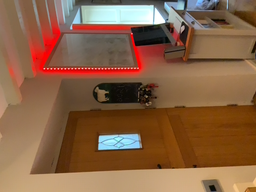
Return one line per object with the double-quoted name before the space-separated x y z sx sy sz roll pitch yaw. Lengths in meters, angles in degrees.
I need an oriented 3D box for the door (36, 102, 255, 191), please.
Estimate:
"door" 0.420 0.360 1.840 0.840 2.100 0.140 -97 8 -56
